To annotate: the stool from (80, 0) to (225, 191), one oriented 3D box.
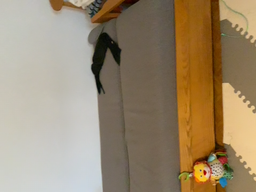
[{"bbox_3d":[0.110,0.400,1.470,0.880,0.520,1.960,3,96,61],"label":"stool"}]
